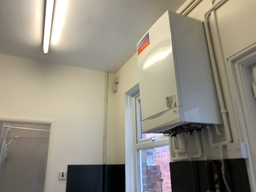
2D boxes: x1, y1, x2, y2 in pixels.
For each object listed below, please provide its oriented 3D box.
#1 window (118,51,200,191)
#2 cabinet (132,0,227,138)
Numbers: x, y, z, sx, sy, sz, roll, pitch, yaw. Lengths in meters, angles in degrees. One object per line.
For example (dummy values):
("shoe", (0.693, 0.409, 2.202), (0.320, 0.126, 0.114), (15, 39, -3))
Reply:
("window", (0.240, 0.540, 2.280), (0.310, 1.690, 1.040), (8, -20, -23))
("cabinet", (0.320, -0.190, 1.570), (0.370, 0.910, 0.510), (8, -20, -25))
